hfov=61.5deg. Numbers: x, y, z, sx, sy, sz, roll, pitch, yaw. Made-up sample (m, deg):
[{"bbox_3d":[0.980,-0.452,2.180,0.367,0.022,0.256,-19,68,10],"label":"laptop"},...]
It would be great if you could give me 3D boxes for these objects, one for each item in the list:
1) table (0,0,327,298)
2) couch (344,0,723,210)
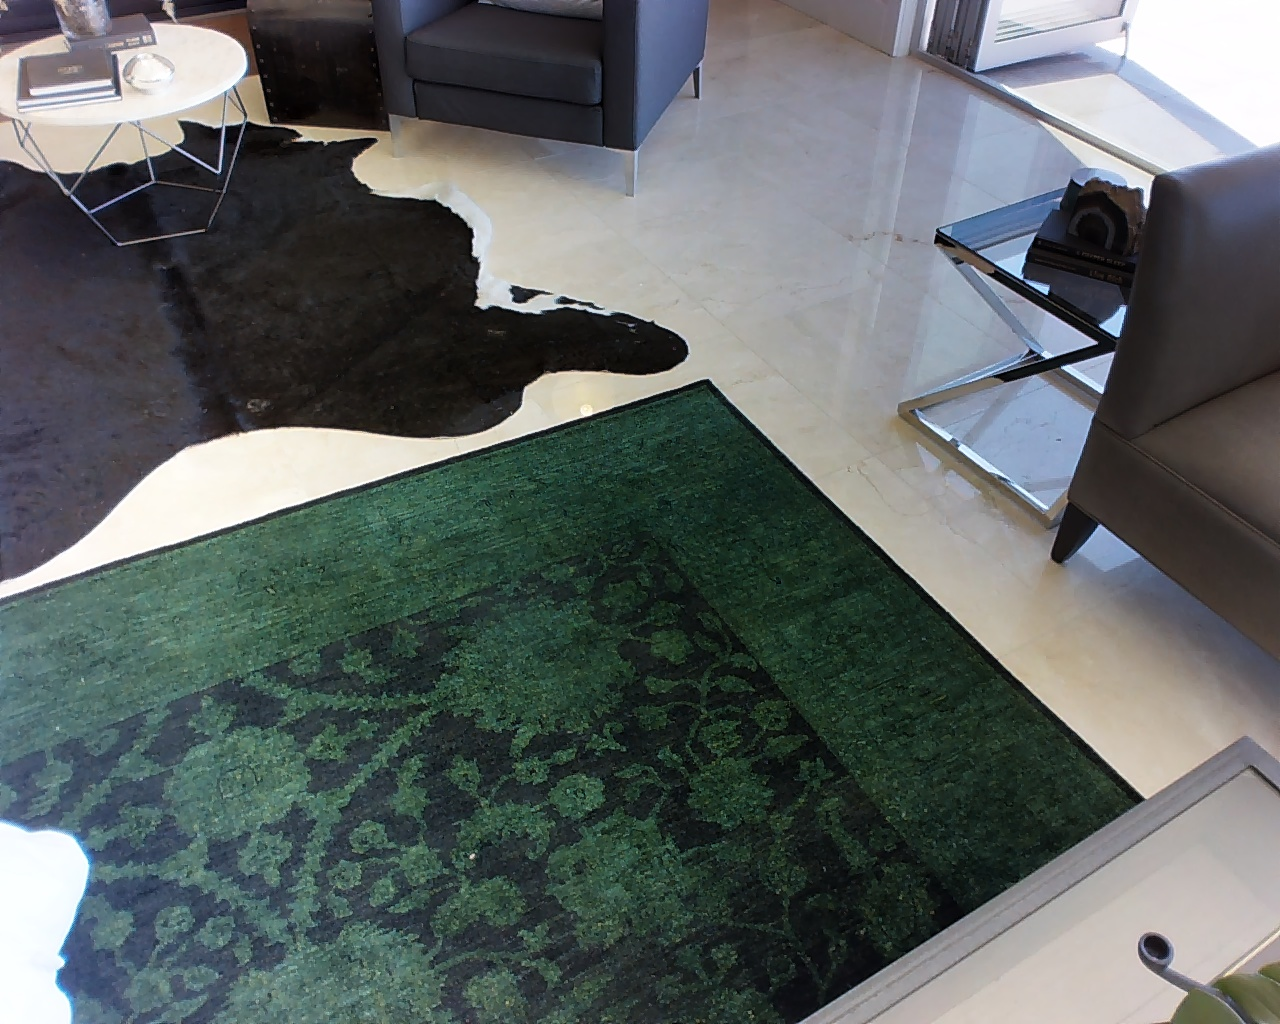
[{"bbox_3d":[-1.510,-1.150,3.260,0.800,0.500,0.800,-20,46,-23],"label":"table"},{"bbox_3d":[-0.310,-1.730,3.660,0.970,0.880,0.990,13,43,13],"label":"couch"}]
